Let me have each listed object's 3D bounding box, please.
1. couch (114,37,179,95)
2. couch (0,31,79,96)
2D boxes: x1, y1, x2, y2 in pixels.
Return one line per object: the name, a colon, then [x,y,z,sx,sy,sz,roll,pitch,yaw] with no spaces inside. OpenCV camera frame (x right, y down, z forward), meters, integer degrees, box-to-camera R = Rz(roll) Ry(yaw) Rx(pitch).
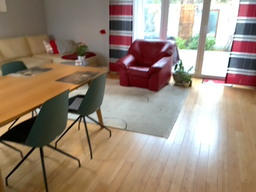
couch: [0.400,-0.680,4.390,0.980,0.890,1.050,11,23,25]
couch: [-2.300,-0.840,4.670,0.940,0.900,2.800,9,23,20]
